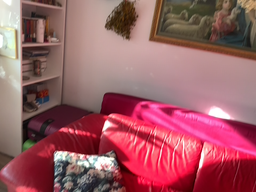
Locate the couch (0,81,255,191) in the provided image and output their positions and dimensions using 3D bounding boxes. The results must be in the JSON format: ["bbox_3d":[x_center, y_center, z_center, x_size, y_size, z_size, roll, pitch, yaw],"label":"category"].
[{"bbox_3d":[0.470,0.700,1.520,2.450,0.810,1.300,15,20,16],"label":"couch"}]
